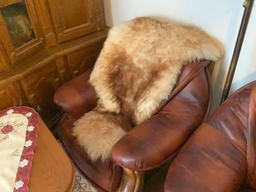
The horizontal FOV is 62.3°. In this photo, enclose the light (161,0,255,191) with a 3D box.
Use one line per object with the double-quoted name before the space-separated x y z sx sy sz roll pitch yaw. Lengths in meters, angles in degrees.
"light" 0.470 -0.070 1.140 0.420 1.670 0.300 -31 46 -31
